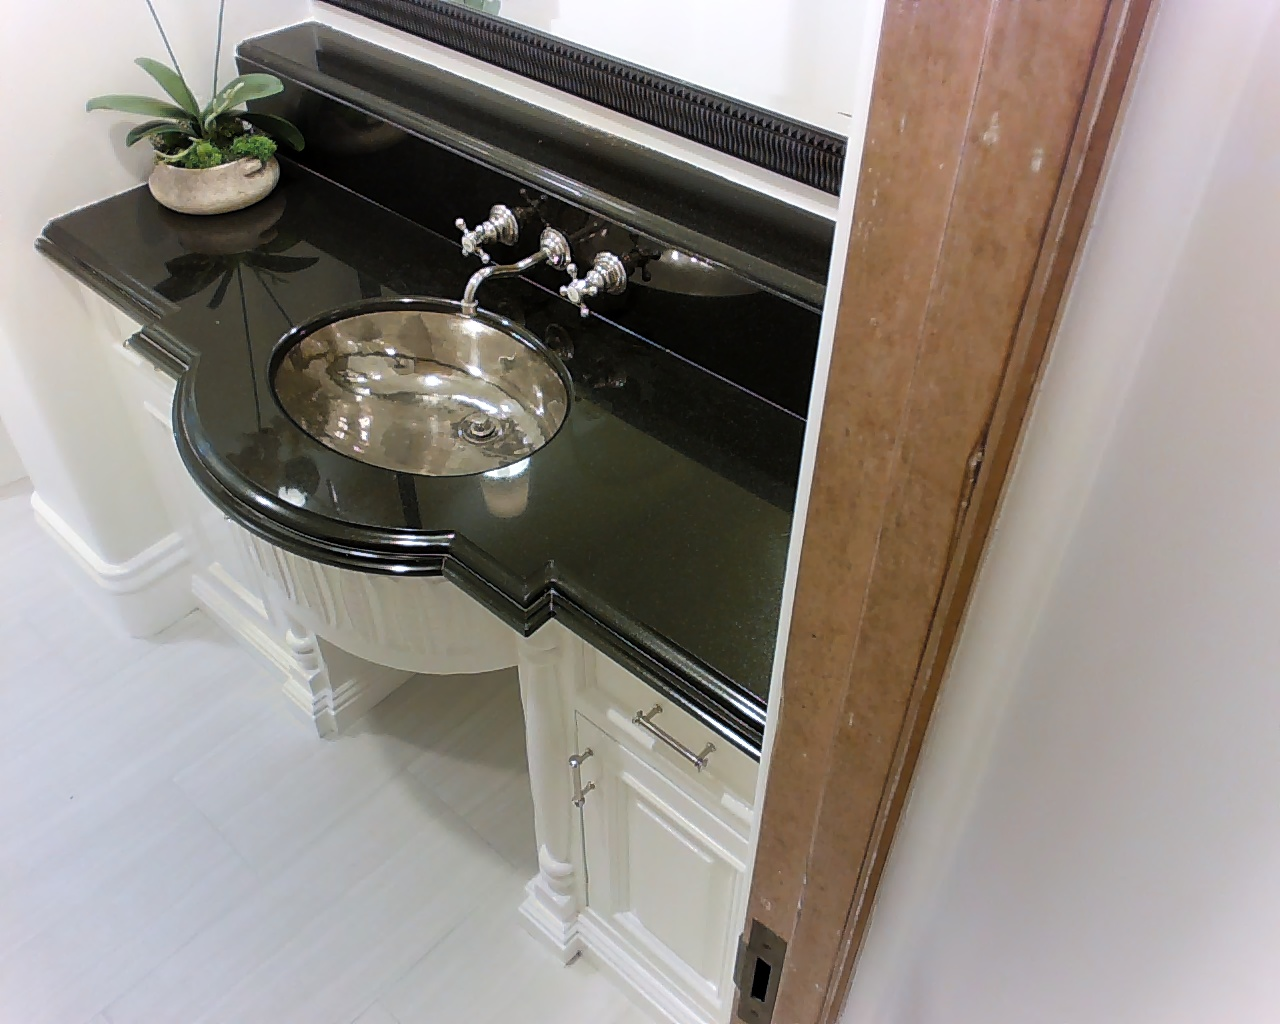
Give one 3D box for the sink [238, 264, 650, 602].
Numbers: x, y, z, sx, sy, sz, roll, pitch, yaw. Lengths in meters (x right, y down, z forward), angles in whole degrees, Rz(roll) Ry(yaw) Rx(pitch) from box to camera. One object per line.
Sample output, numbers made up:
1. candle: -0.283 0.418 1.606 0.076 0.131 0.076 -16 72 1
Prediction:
1. sink: -0.260 -0.130 1.460 0.430 0.150 0.340 33 52 30
